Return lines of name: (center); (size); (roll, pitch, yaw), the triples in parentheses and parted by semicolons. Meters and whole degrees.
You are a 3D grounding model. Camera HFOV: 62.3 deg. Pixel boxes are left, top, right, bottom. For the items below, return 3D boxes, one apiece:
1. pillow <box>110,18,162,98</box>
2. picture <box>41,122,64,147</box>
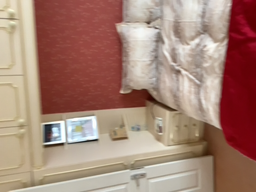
pillow: (0.100, -0.390, 2.280); (0.200, 0.450, 0.760); (-46, -50, -77)
picture: (-0.810, 0.410, 2.280); (0.030, 0.220, 0.250); (114, 148, -61)
